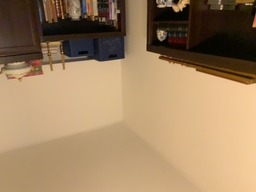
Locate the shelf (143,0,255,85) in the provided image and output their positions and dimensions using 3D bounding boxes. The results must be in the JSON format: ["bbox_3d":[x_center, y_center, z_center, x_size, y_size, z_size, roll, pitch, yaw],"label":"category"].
[{"bbox_3d":[0.560,-0.350,1.040,0.280,0.460,1.350,-12,-157,-27],"label":"shelf"}]
